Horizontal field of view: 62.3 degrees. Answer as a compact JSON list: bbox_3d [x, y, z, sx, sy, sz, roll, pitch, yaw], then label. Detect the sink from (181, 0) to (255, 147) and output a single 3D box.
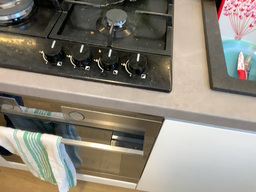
[{"bbox_3d":[0.390,-0.110,0.650,0.390,0.240,0.460,9,54,1],"label":"sink"}]
